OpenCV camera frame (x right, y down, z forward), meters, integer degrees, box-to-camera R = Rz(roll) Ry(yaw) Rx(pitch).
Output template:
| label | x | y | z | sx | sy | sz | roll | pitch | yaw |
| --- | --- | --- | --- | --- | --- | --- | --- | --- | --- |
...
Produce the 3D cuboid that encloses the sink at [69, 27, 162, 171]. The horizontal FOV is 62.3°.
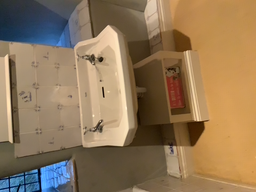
| label | x | y | z | sx | sy | sz | roll | pitch | yaw |
| --- | --- | --- | --- | --- | --- | --- | --- | --- | --- |
| sink | -0.110 | 0.030 | 1.330 | 0.470 | 0.350 | 0.710 | -13 | 80 | 57 |
